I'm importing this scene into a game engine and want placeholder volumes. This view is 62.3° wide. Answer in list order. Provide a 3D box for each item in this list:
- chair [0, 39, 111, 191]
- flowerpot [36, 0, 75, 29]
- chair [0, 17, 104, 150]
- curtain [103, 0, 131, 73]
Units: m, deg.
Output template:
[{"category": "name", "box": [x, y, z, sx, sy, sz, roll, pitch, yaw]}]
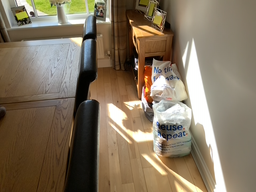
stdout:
[{"category": "chair", "box": [-0.440, 0.220, 1.390, 0.580, 1.020, 0.450, -4, 39, -4]}, {"category": "flowerpot", "box": [-0.900, -1.140, 2.630, 0.350, 0.520, 0.290, -2, 38, -2]}, {"category": "chair", "box": [-0.540, -0.070, 1.770, 0.580, 0.990, 0.450, -5, 39, -5]}, {"category": "curtain", "box": [-0.130, -1.270, 2.380, 0.320, 2.300, 0.110, 0, 38, 2]}]
